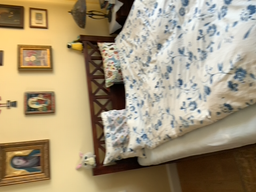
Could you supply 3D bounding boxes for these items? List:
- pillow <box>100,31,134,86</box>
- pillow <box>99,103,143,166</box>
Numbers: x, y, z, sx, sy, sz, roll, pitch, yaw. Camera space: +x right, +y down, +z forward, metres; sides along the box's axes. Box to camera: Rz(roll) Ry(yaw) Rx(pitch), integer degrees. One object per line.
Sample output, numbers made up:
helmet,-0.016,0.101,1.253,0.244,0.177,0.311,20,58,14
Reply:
pillow,-0.150,-0.440,2.550,0.310,0.260,0.560,130,134,-62
pillow,-0.090,0.410,2.240,0.350,0.310,0.590,137,128,-64
